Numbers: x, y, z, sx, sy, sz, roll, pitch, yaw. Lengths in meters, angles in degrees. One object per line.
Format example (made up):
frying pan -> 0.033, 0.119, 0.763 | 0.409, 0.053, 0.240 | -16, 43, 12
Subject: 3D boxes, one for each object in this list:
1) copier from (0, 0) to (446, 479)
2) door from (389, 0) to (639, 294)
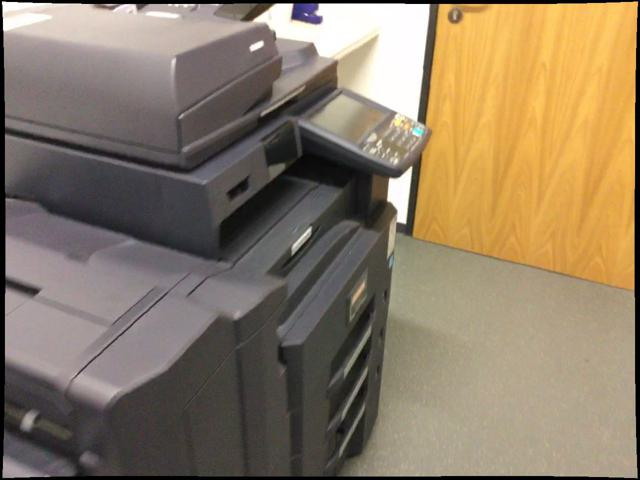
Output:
copier -> -0.360, 0.200, 1.150 | 0.799, 1.161, 1.130 | 15, 35, 19
door -> 0.879, -0.831, 1.930 | 1.089, 2.142, 0.140 | 13, 34, 17
